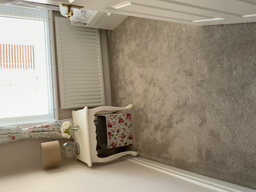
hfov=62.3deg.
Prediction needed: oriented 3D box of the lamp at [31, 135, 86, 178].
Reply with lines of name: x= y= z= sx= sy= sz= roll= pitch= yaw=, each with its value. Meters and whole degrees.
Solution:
lamp: x=-0.800 y=0.660 z=2.420 sx=0.390 sy=0.510 sz=0.360 roll=-19 pitch=76 yaw=61
